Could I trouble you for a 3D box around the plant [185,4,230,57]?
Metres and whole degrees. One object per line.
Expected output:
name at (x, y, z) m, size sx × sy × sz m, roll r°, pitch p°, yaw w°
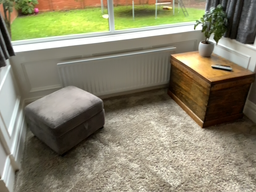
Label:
plant at (0.970, -0.820, 2.650) m, size 0.310 × 0.550 × 0.330 m, roll -10°, pitch 32°, yaw -13°
